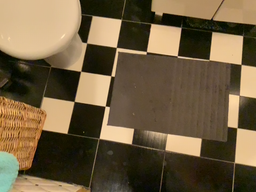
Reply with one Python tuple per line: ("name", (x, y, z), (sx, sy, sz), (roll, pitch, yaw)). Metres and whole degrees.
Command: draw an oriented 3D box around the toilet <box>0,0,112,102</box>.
("toilet", (-0.430, -0.410, 0.800), (0.370, 0.760, 0.650), (-34, 80, -6))
